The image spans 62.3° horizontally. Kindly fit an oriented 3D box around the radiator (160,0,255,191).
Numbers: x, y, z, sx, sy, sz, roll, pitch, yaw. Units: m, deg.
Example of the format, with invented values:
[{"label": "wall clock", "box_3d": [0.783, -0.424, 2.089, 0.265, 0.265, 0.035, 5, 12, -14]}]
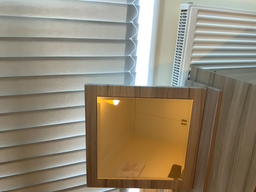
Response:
[{"label": "radiator", "box_3d": [0.520, 0.100, 1.160, 0.100, 0.650, 1.090, -145, 53, -60]}]
